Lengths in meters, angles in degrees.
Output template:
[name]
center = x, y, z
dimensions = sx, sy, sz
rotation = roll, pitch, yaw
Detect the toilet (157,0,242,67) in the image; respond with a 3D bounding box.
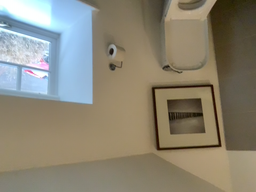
[toilet]
center = 0.480, -0.730, 1.660
dimensions = 0.370, 0.840, 0.640
rotation = -1, 170, -2
